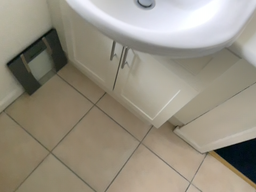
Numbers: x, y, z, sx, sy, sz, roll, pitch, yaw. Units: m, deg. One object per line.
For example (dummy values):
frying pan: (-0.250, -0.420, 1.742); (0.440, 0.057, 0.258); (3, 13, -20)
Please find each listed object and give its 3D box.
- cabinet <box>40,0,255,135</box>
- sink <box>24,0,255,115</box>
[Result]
cabinet: (0.010, -0.250, 0.940); (0.710, 0.750, 0.320); (37, 66, 6)
sink: (0.030, -0.280, 0.540); (0.540, 0.160, 0.380); (37, 66, 6)
